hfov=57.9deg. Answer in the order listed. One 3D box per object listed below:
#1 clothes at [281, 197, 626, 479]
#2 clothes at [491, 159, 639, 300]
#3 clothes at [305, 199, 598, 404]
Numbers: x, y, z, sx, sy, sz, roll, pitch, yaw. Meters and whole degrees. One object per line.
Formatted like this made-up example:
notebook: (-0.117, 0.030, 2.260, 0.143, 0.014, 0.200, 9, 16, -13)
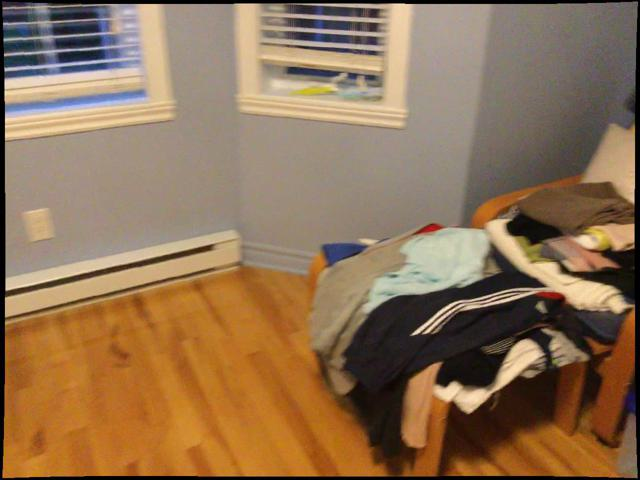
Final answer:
clothes: (0.320, 0.280, 1.620, 0.679, 0.510, 0.550, -13, 32, -22)
clothes: (0.739, -0.050, 1.600, 0.290, 0.170, 0.420, -13, 32, -22)
clothes: (0.320, 0.120, 1.550, 0.570, 0.180, 0.490, -13, 32, -22)
